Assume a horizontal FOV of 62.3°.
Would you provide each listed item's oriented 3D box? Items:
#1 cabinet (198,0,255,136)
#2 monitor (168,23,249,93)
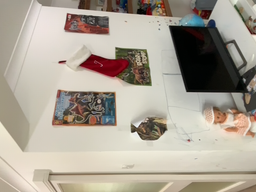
[{"bbox_3d":[1.090,-0.340,1.780,0.480,0.540,1.250,102,167,-53],"label":"cabinet"},{"bbox_3d":[0.600,-0.330,1.680,0.050,0.440,0.720,97,171,-55],"label":"monitor"}]
